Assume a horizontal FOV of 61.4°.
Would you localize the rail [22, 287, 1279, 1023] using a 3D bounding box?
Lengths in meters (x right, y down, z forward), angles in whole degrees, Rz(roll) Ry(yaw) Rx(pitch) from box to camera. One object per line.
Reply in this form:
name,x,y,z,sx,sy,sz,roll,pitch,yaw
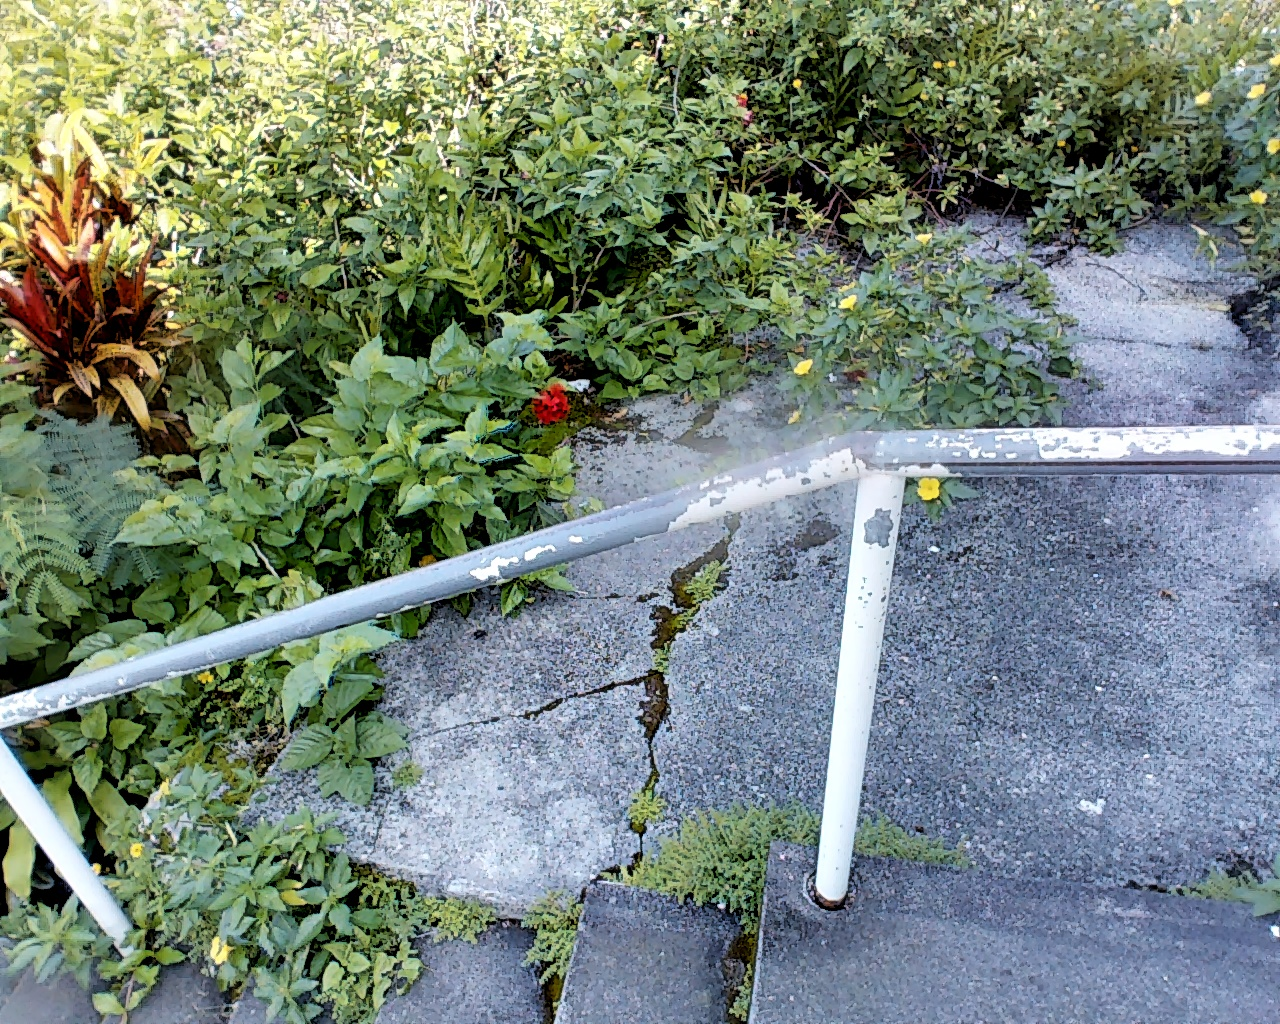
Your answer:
rail,0.390,0.320,1.460,2.169,1.180,0.140,6,40,11
